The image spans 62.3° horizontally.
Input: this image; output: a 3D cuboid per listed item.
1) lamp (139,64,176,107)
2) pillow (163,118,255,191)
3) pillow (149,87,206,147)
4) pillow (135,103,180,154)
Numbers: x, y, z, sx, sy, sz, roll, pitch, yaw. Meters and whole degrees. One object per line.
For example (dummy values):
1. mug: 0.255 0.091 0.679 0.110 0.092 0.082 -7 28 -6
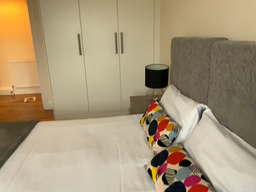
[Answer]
1. lamp: 0.300 -0.120 2.250 0.340 0.390 0.260 -3 18 -3
2. pillow: 0.390 0.340 1.010 0.160 0.390 0.570 -29 0 -3
3. pillow: 0.340 0.120 1.630 0.140 0.330 0.630 -21 5 -3
4. pillow: 0.200 0.220 1.650 0.130 0.270 0.570 -24 4 -4
